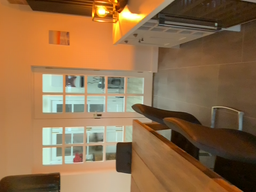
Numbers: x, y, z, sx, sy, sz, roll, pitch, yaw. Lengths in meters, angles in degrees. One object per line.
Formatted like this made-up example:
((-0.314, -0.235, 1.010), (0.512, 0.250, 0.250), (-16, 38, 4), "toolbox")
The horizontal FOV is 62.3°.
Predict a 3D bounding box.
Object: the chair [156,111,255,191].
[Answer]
((0.680, 0.420, 1.270), (0.460, 0.890, 0.580), (-158, 70, -74), "chair")
